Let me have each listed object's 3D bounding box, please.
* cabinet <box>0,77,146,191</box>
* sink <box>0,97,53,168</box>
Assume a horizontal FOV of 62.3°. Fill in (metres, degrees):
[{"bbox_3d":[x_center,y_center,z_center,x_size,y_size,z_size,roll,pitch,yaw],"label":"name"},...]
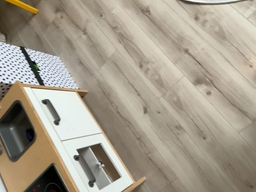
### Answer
[{"bbox_3d":[-0.350,0.320,1.150,0.390,0.520,0.710,-44,70,19],"label":"cabinet"},{"bbox_3d":[-0.510,0.170,1.020,0.230,0.070,0.240,-44,70,19],"label":"sink"}]
